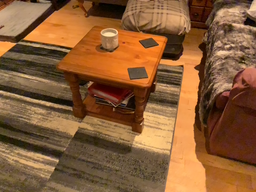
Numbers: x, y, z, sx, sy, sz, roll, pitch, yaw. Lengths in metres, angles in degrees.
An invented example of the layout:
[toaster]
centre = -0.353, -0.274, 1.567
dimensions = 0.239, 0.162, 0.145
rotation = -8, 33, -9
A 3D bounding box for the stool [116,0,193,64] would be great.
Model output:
[stool]
centre = 0.290, -0.760, 2.210
dimensions = 0.660, 0.470, 0.660
rotation = 9, 44, 9
